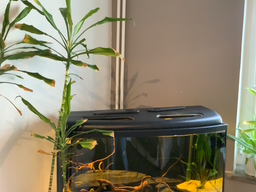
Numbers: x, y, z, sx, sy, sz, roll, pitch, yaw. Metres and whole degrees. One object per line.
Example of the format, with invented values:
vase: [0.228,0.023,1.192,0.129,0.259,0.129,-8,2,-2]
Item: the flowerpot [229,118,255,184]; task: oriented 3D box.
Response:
flowerpot: [0.950,0.400,1.580,0.320,0.400,0.280,4,5,22]
